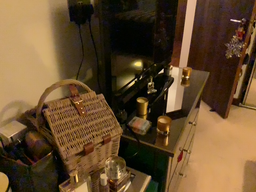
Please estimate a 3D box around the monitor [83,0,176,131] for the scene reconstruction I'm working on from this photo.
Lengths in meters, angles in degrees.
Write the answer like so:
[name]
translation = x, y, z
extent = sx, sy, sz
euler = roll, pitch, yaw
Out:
[monitor]
translation = 0.070, -0.270, 1.070
extent = 0.070, 0.540, 0.790
euler = 17, 35, 23
